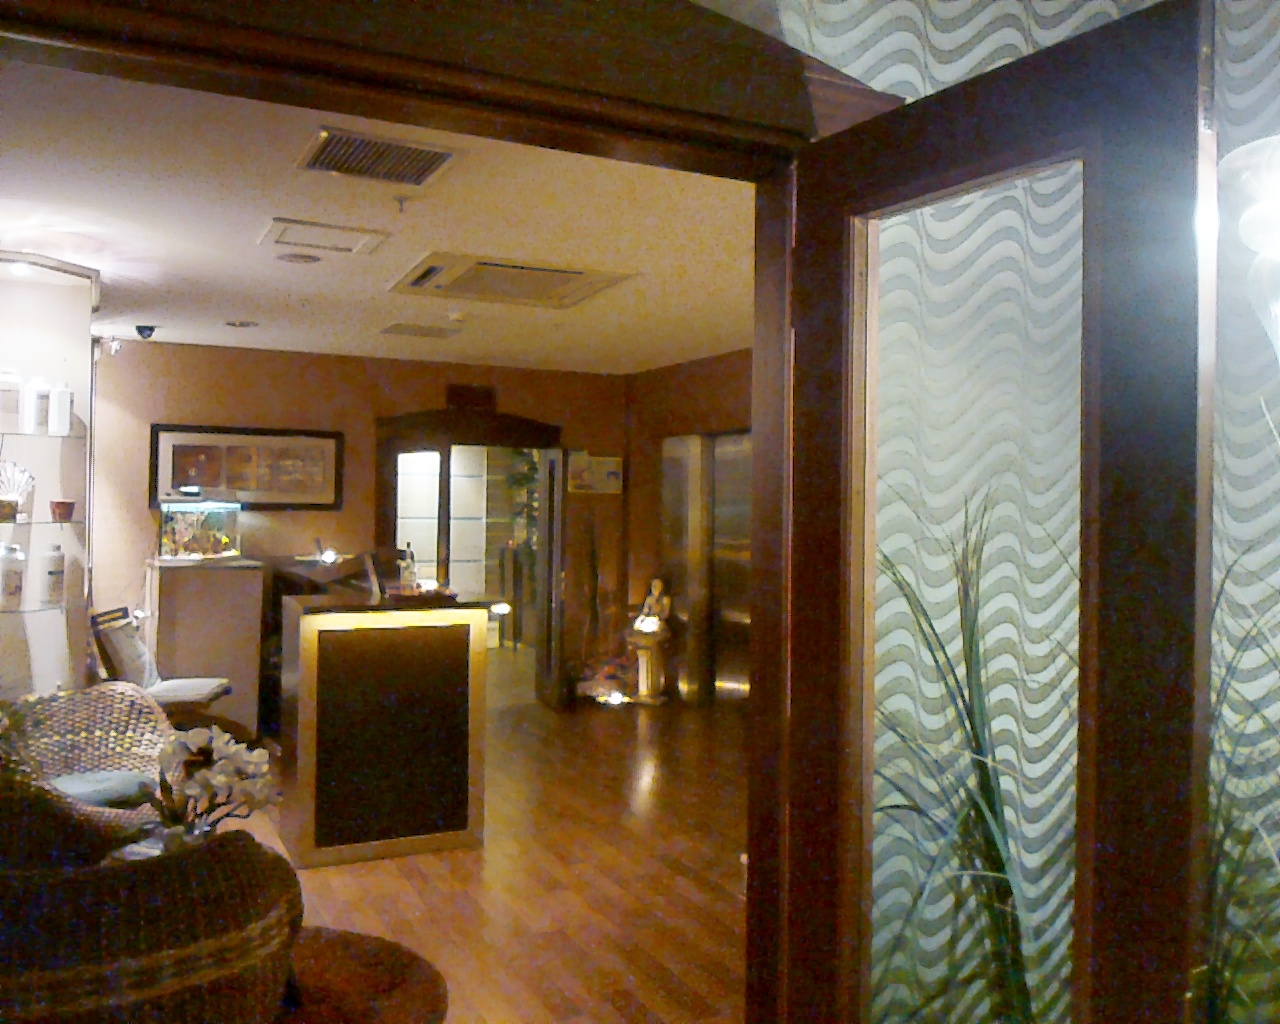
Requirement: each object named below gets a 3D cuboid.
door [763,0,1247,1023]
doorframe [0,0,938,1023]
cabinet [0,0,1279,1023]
[{"bbox_3d":[0.400,0.480,1.380,0.080,2.260,0.720,1,0,-28],"label":"door"},{"bbox_3d":[-0.340,0.400,1.520,1.660,2.421,0.310,1,0,-26],"label":"doorframe"},{"bbox_3d":[0.160,0.290,0.940,2.560,2.621,3.540,1,0,-26],"label":"cabinet"}]
